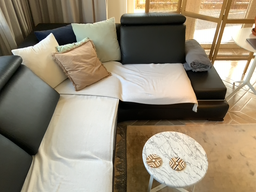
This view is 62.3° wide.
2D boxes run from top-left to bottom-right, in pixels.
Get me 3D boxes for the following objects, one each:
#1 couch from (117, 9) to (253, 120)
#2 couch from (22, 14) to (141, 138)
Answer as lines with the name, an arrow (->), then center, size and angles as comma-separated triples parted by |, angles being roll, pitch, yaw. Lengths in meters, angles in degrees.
couch -> 0.450, -0.380, 2.340 | 1.090, 0.820, 1.000 | 0, 40, -1
couch -> -0.480, -0.270, 2.240 | 1.110, 0.770, 0.570 | 33, 49, 33
